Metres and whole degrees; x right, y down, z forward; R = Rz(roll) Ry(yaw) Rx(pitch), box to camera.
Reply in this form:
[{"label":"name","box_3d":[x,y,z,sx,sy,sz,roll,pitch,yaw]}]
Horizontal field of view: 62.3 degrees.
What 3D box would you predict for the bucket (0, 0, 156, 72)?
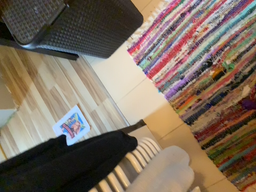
[{"label":"bucket","box_3d":[-0.220,-0.410,1.070,0.490,0.610,0.270,-41,74,20]}]
